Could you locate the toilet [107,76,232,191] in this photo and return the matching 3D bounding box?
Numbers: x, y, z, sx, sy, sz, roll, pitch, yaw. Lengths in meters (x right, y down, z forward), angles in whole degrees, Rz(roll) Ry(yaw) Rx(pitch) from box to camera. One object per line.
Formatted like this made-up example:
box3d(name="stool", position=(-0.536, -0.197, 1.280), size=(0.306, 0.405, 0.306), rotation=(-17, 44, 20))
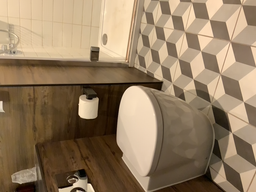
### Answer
box3d(name="toilet", position=(0.190, 0.170, 1.160), size=(0.380, 0.450, 0.470), rotation=(38, 125, 53))
